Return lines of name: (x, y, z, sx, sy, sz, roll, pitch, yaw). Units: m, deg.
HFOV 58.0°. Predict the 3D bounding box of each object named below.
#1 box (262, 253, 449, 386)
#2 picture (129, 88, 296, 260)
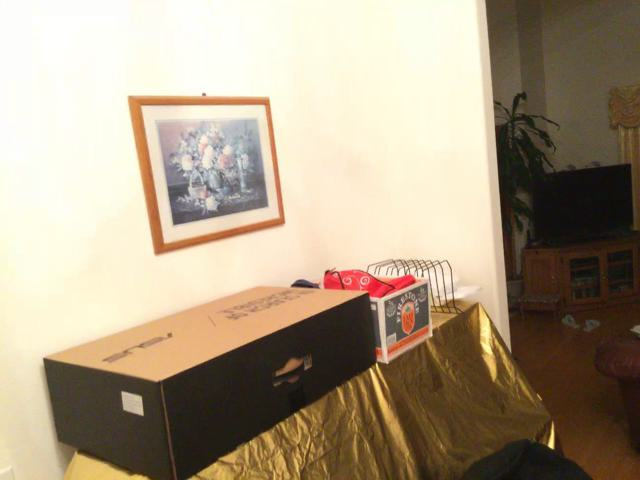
box: (0.120, 0.250, 1.970, 0.490, 0.330, 0.340, -4, 8, 39)
picture: (-0.310, -0.230, 1.840, 0.050, 0.480, 0.550, -4, 8, 39)
